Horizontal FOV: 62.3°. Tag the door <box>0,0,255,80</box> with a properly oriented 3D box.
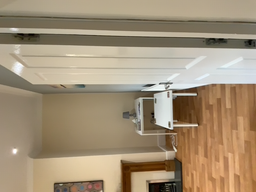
[{"bbox_3d":[0.410,-0.250,1.040,1.050,2.090,0.160,149,120,-80],"label":"door"}]
